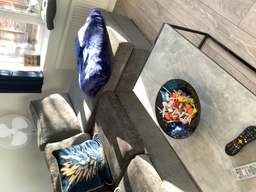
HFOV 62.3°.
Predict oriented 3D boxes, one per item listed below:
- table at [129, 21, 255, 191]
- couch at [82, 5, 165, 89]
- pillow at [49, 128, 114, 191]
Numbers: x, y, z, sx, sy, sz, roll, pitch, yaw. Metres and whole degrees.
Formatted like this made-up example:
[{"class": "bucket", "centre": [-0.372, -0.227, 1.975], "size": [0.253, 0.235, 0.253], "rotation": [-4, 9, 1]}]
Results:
[{"class": "table", "centre": [0.490, 0.090, 1.190], "size": [0.990, 0.420, 0.530], "rotation": [58, 134, 38]}, {"class": "couch", "centre": [-0.080, -0.460, 2.030], "size": [0.650, 0.440, 0.450], "rotation": [60, 136, 36]}, {"class": "pillow", "centre": [-0.420, 0.600, 1.900], "size": [0.200, 0.420, 0.480], "rotation": [89, 156, -49]}]
